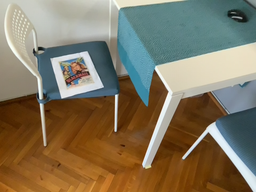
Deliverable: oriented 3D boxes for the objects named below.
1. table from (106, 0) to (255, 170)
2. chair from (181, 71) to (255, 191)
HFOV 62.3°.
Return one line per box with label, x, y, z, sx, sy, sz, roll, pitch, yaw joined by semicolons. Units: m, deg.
table;0.350;-0.150;1.350;0.760;0.740;0.770;-14;55;-18
chair;0.680;0.250;1.060;0.480;0.750;0.390;-12;54;-17
